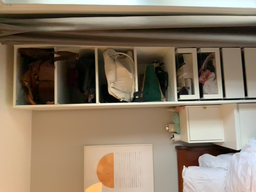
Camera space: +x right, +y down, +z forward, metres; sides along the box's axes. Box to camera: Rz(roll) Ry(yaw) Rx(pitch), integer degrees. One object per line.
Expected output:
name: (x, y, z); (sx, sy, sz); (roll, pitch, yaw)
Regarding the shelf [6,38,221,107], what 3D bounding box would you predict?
shelf: (-0.110, -0.180, 2.000); (0.610, 1.690, 0.520); (122, 147, -84)
